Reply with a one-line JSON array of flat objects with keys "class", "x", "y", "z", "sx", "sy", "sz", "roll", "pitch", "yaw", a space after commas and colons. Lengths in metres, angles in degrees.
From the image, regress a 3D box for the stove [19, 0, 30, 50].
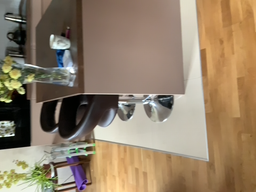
[{"class": "stove", "x": -1.490, "y": -1.030, "z": 3.050, "sx": 0.510, "sy": 0.070, "sz": 0.610, "roll": -6, "pitch": 84, "yaw": 55}]
